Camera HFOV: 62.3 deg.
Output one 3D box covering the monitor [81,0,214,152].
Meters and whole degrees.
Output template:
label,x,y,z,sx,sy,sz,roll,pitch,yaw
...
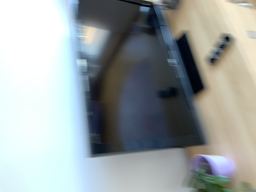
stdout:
label,x,y,z,sx,sy,sz,roll,pitch,yaw
monitor,0.080,-0.210,1.210,0.080,0.610,0.970,132,133,-55
